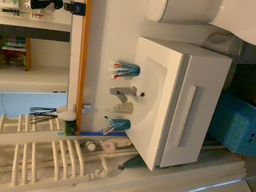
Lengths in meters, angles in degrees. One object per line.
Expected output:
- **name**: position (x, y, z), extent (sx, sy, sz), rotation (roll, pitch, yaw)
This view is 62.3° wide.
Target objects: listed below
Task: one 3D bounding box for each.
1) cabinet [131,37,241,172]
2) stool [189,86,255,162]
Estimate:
- **cabinet**: position (0.270, 0.030, 1.200), extent (0.400, 0.270, 0.610), rotation (-131, 47, -56)
- **stool**: position (0.700, 0.160, 1.440), extent (0.430, 0.280, 0.320), rotation (-132, 48, -57)
